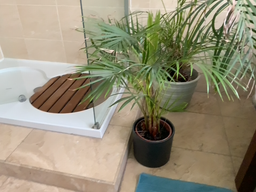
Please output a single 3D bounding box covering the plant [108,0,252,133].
[{"bbox_3d":[0.310,-0.300,1.520,0.720,0.850,0.560,8,33,13],"label":"plant"}]
